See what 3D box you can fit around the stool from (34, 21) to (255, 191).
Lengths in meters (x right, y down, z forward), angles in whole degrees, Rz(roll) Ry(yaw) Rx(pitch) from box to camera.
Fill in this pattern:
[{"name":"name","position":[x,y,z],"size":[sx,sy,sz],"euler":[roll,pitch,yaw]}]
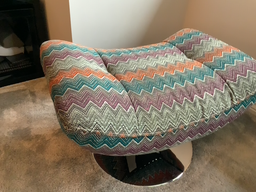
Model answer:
[{"name":"stool","position":[0.070,0.020,0.790],"size":[0.680,0.420,0.460],"euler":[-11,40,-22]}]
